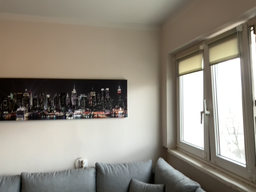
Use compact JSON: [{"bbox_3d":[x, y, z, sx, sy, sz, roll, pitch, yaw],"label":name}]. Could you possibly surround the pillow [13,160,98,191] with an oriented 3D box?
[{"bbox_3d":[-0.670,0.950,2.070,0.710,0.500,0.290,0,16,-13],"label":"pillow"}]
